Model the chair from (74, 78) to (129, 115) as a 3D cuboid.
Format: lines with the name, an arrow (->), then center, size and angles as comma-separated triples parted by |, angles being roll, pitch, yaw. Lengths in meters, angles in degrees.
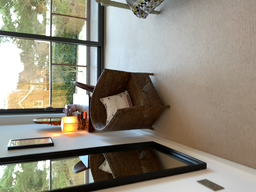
chair -> -0.420, 0.010, 3.350 | 0.400, 0.780, 0.530 | 179, 91, -64

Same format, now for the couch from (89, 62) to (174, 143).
couch -> -0.010, 0.080, 2.610 | 0.620, 0.710, 0.710 | 118, 143, -44
